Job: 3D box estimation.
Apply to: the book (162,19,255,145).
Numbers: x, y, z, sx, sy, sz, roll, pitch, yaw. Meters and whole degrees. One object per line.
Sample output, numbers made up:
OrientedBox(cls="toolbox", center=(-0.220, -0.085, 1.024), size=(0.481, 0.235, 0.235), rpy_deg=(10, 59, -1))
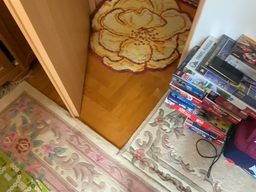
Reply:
OrientedBox(cls="book", center=(0.470, -0.040, 1.140), size=(0.400, 0.520, 0.290), rpy_deg=(34, 66, 16))
